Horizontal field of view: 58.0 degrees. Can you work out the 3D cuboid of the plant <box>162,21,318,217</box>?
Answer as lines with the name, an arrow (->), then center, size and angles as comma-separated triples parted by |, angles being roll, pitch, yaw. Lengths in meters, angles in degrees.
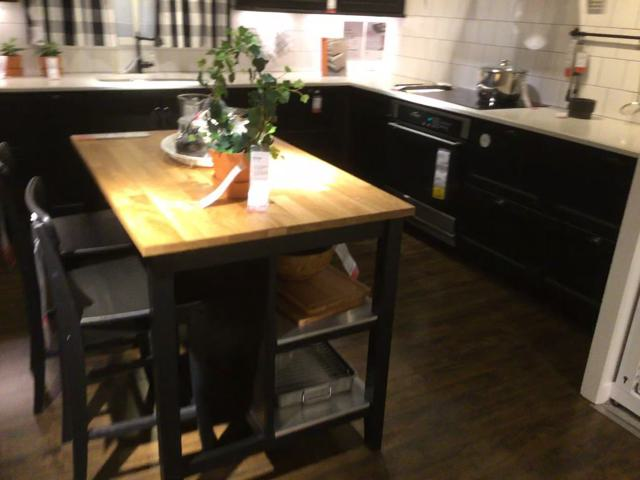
plant -> -0.240, -0.370, 1.670 | 0.310, 0.470, 0.380 | -9, 26, -26

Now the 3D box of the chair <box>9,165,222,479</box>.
chair -> -0.610, 0.280, 1.780 | 0.480, 0.900, 0.420 | -9, 25, -25

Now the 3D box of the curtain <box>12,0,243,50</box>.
curtain -> -1.180, -1.580, 3.660 | 1.400, 0.700, 0.150 | -9, 26, -26
